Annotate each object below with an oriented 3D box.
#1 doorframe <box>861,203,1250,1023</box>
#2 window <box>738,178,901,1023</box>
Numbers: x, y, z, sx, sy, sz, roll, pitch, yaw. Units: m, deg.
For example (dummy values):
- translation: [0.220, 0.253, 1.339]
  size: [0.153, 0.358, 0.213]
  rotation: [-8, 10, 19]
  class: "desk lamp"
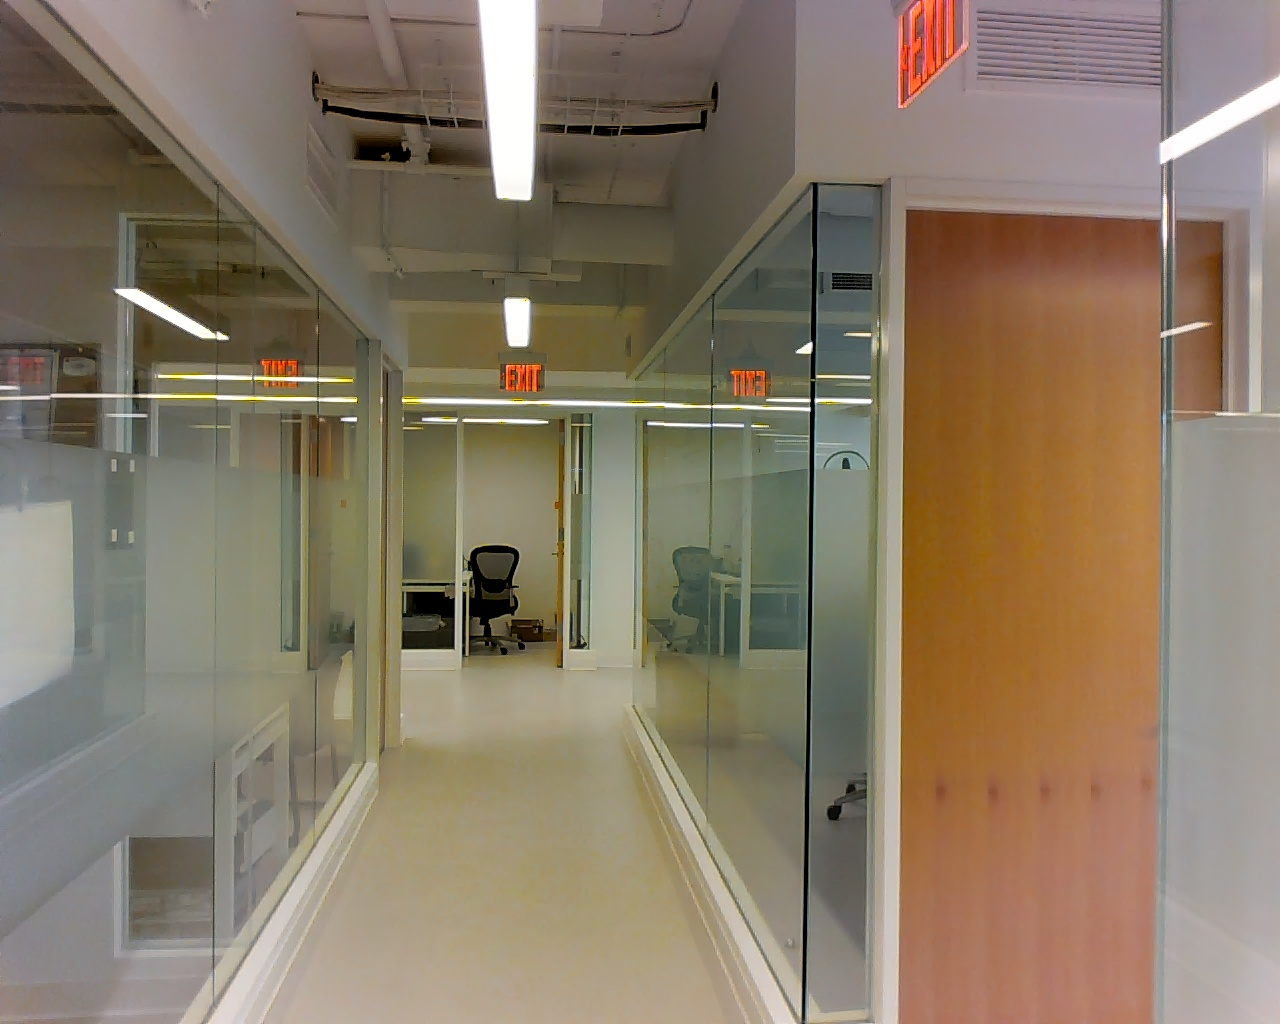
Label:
- translation: [1.060, 0.350, 2.730]
  size: [0.970, 2.200, 0.110]
  rotation: [1, 0, -7]
  class: "doorframe"
- translation: [0.450, 0.320, 2.740]
  size: [0.330, 2.250, 0.270]
  rotation: [1, 0, -6]
  class: "window"
